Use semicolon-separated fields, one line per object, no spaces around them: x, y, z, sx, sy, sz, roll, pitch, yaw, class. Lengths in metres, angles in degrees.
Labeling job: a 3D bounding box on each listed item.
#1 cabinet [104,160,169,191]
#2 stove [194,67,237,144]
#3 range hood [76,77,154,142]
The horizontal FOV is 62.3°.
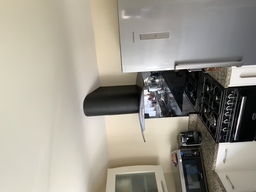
0.100;1.210;2.380;0.970;0.720;0.300;-94;1;-61;cabinet
0.890;0.070;2.260;0.640;0.130;0.580;-94;1;-64;stove
-0.120;0.150;2.420;0.370;0.780;0.590;-94;1;-57;range hood
